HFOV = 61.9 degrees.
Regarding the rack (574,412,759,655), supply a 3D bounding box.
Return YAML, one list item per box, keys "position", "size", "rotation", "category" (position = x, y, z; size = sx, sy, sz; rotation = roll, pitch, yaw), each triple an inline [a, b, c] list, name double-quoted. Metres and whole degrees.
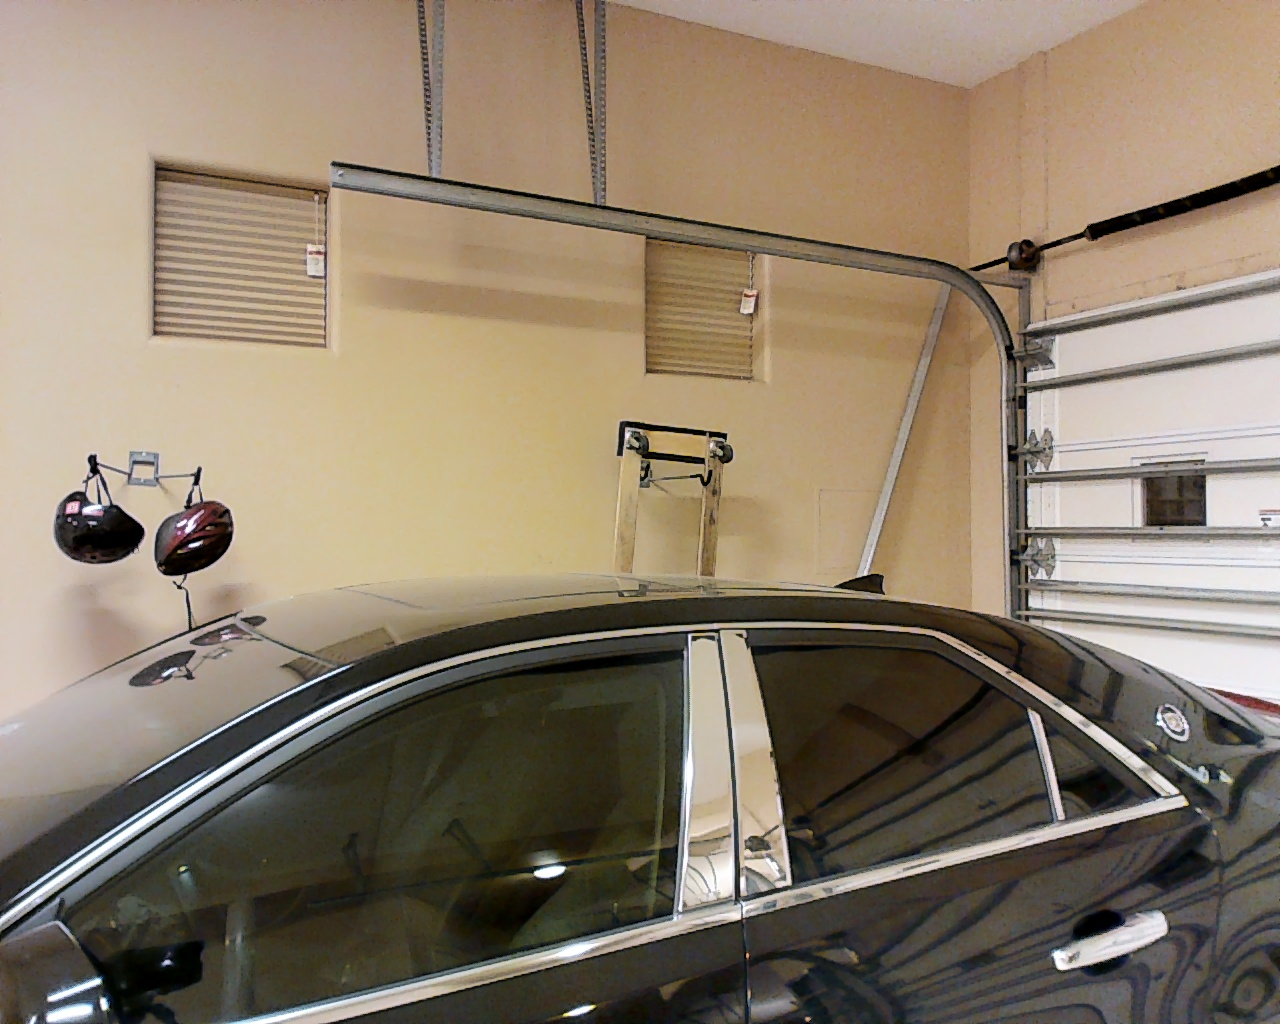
- position: [0.100, 0.080, 4.130]
  size: [0.570, 0.880, 0.330]
  rotation: [3, 3, -29]
  category: "rack"
